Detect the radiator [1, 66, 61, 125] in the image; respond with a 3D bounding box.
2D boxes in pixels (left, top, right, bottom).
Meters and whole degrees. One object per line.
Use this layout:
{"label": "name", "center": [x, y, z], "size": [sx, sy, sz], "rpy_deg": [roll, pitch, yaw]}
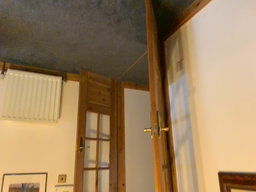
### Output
{"label": "radiator", "center": [-1.090, 0.000, 2.450], "size": [0.560, 0.620, 0.130], "rpy_deg": [6, 161, -22]}
